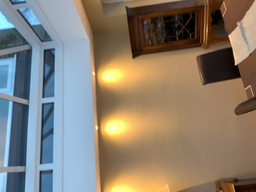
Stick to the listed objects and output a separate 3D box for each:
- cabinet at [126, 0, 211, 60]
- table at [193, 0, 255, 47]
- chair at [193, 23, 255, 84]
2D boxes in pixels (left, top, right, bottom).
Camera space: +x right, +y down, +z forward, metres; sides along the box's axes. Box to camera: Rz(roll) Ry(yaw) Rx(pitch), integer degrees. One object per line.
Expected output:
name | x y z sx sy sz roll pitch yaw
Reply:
cabinet | 0.520 -0.970 3.030 0.550 1.020 0.590 81 -177 -70
table | 1.350 -1.100 3.000 0.560 0.620 0.520 80 -176 -70
chair | 1.250 -0.440 2.220 0.530 0.930 0.370 81 -176 -70
